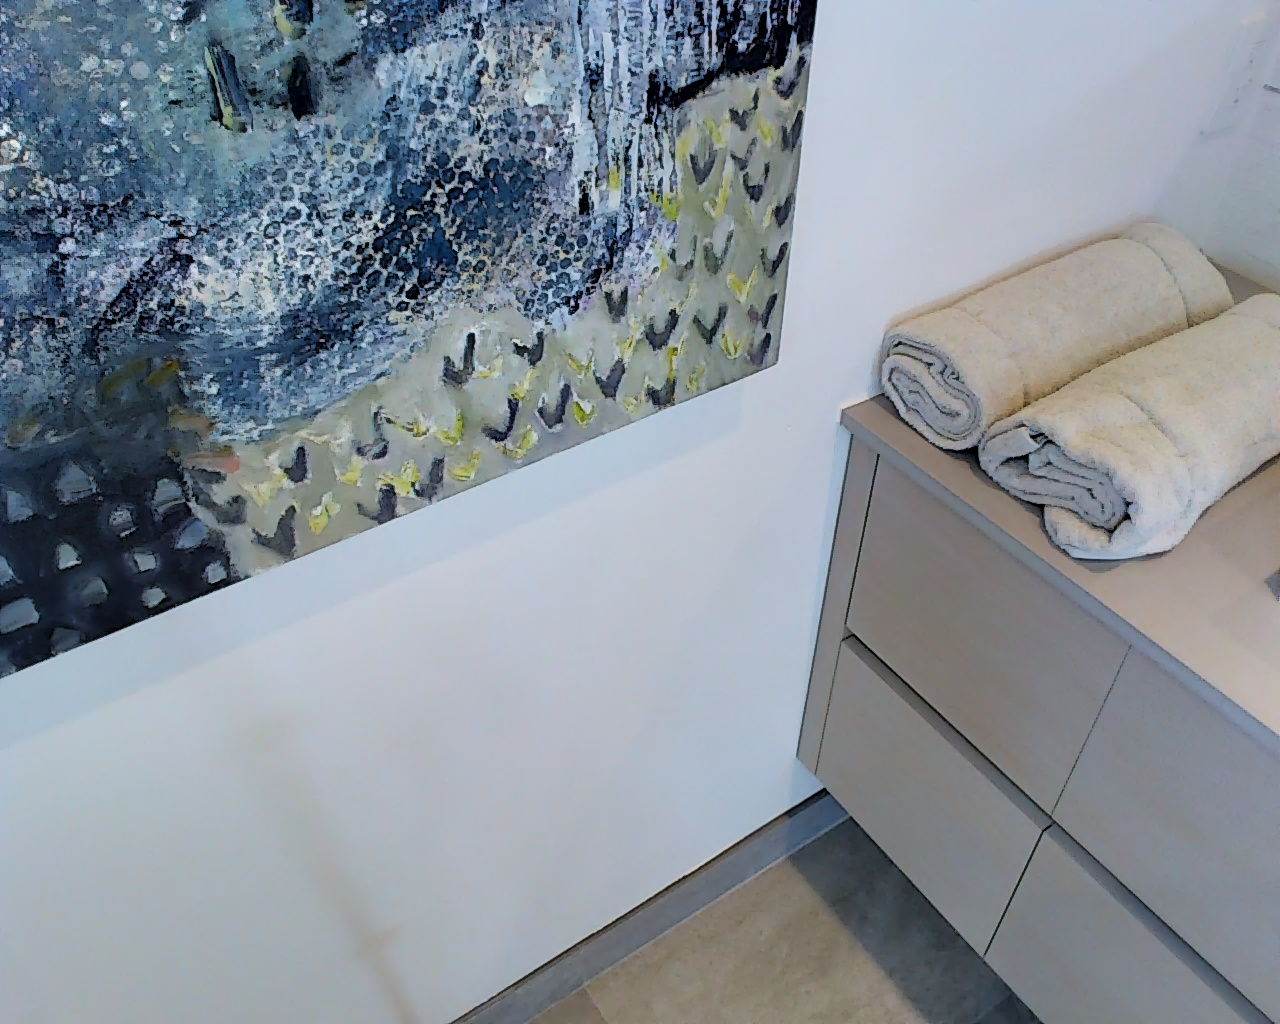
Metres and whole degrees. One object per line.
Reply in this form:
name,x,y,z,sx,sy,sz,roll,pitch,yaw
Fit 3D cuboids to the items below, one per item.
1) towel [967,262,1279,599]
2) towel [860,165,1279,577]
towel,0.560,-0.100,1.050,0.460,0.110,0.180,-24,47,-24
towel,0.560,-0.180,1.120,0.580,0.120,0.310,-24,47,-24
